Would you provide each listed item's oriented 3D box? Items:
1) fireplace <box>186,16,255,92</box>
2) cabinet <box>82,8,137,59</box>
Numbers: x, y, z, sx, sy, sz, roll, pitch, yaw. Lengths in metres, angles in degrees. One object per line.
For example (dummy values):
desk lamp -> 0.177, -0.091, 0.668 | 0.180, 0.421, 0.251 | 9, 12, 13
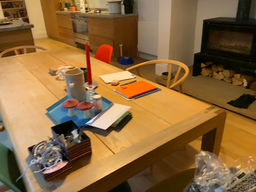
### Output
fireplace -> 1.390, -0.640, 2.930 | 0.410, 0.790, 1.070 | -21, 32, -32
cabinet -> -0.420, -1.480, 4.850 | 0.700, 0.920, 1.130 | -20, 31, -31
